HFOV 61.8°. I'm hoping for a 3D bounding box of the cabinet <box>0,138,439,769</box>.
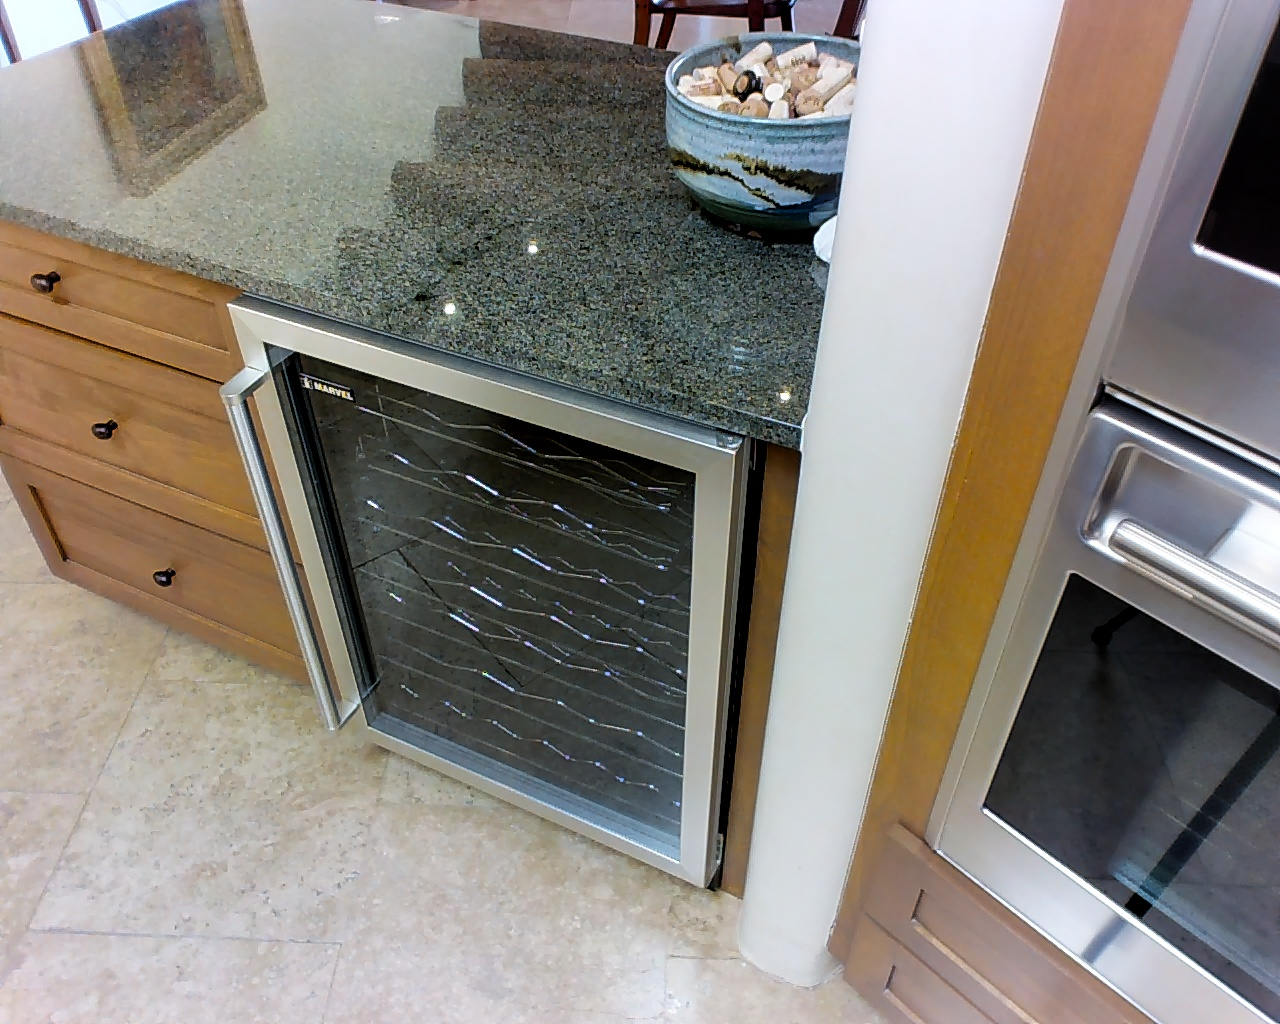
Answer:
[{"bbox_3d":[-0.710,-0.070,1.630,0.670,0.820,0.260,17,44,18],"label":"cabinet"}]
